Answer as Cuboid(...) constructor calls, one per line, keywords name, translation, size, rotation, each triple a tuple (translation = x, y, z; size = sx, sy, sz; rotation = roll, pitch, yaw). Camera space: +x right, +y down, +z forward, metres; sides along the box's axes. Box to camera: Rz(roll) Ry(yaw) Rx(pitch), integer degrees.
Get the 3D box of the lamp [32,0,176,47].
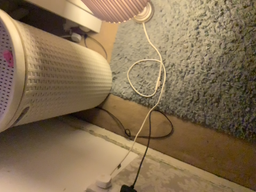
Cuboid(name="lamp", translation=(-0.030, -0.410, 0.800), size=(0.320, 0.470, 0.310), rotation=(18, 100, 20))
